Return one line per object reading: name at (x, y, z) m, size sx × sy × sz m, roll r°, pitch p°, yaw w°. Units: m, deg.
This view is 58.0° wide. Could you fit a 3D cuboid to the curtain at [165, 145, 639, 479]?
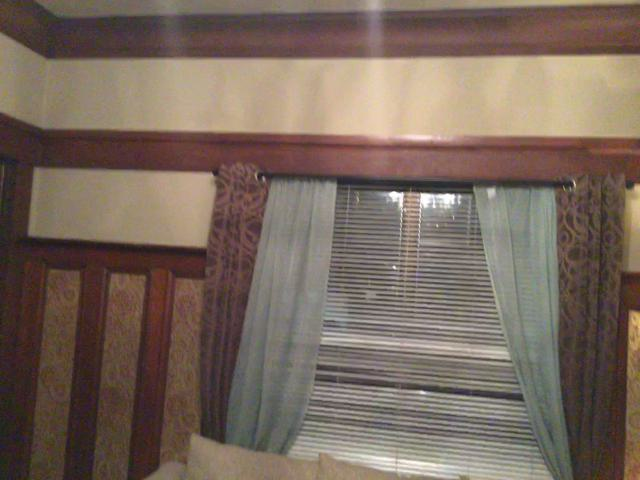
curtain at (0.290, 0.270, 2.390) m, size 1.800 × 1.270 × 0.240 m, roll 2°, pitch -8°, yaw 16°
